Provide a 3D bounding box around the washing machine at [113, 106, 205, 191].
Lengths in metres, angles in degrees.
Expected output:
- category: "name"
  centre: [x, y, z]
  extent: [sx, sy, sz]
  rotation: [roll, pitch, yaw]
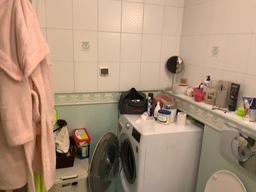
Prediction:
- category: "washing machine"
  centre: [0.210, 0.650, 1.890]
  extent: [0.510, 0.950, 0.620]
  rotation: [-2, 15, -19]
